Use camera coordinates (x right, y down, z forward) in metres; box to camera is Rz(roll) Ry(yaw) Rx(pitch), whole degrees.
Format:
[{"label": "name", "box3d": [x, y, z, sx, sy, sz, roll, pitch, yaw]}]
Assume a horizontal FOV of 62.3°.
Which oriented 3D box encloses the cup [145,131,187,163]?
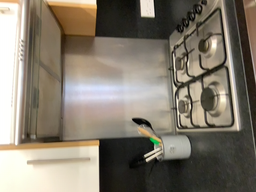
[{"label": "cup", "box3d": [0.190, 0.260, 1.110, 0.190, 0.150, 0.140, 137, 132, -75]}]
